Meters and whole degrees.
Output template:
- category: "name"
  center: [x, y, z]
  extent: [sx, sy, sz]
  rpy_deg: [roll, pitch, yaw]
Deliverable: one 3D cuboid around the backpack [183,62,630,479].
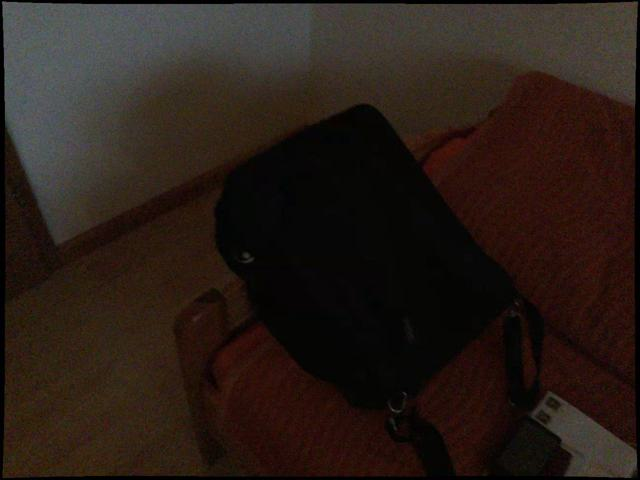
- category: "backpack"
  center: [0.130, 0.010, 1.010]
  extent: [0.490, 0.320, 0.510]
  rpy_deg: [38, 52, 27]
